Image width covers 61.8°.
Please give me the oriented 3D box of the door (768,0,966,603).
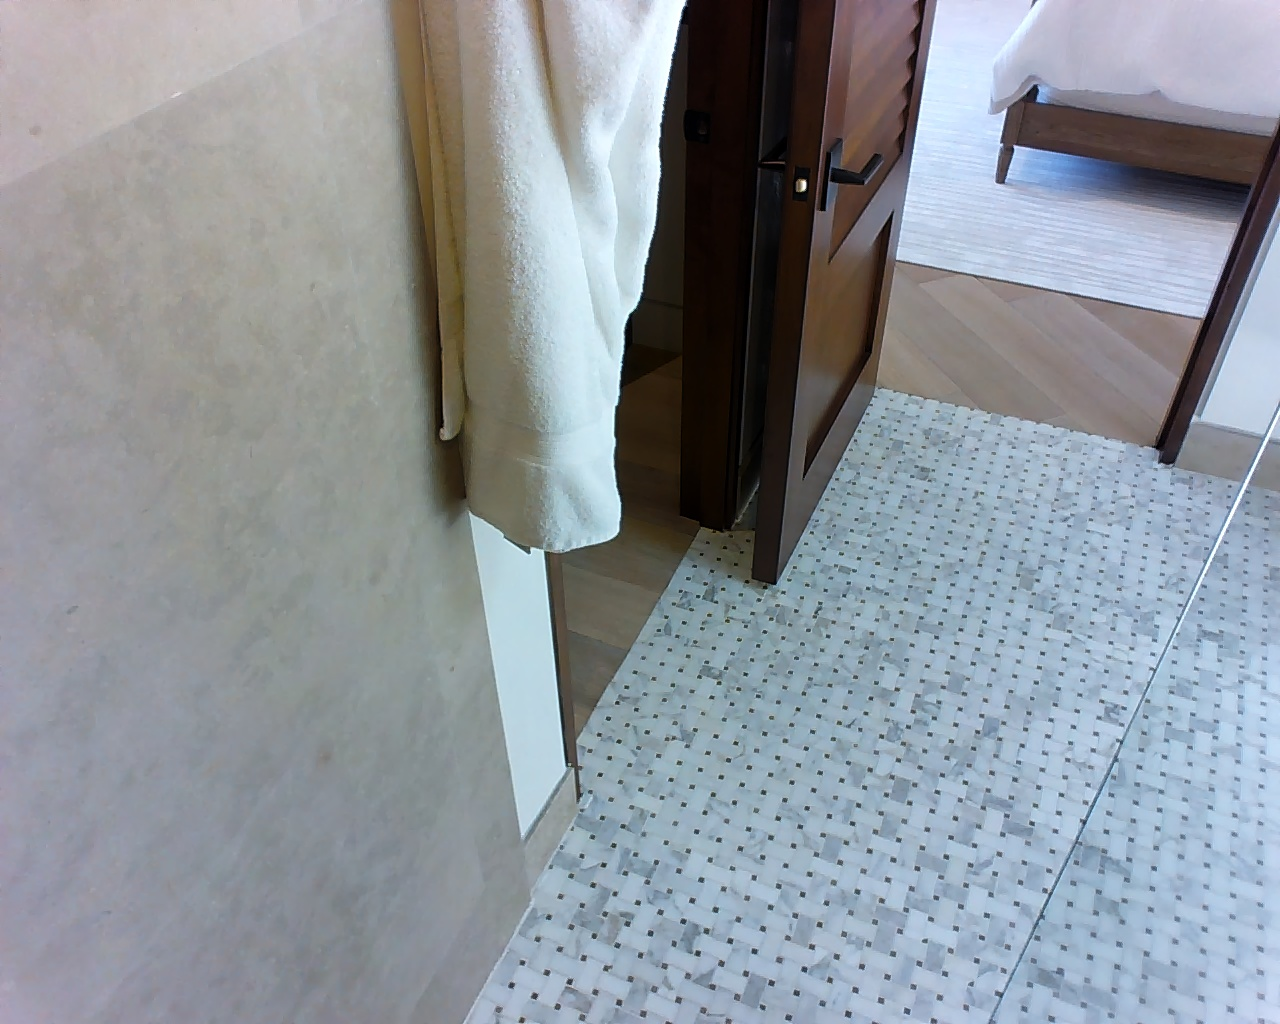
[{"bbox_3d":[0.470,-0.980,1.830,0.050,2.420,0.890,17,45,19],"label":"door"}]
